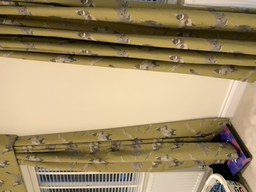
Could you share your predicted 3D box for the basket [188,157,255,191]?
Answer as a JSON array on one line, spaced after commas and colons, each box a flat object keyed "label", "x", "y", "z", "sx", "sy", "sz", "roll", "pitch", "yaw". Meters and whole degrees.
[{"label": "basket", "x": 0.810, "y": 0.970, "z": 1.850, "sx": 0.550, "sy": 0.260, "sz": 0.700, "roll": -96, "pitch": 10, "yaw": -50}]
